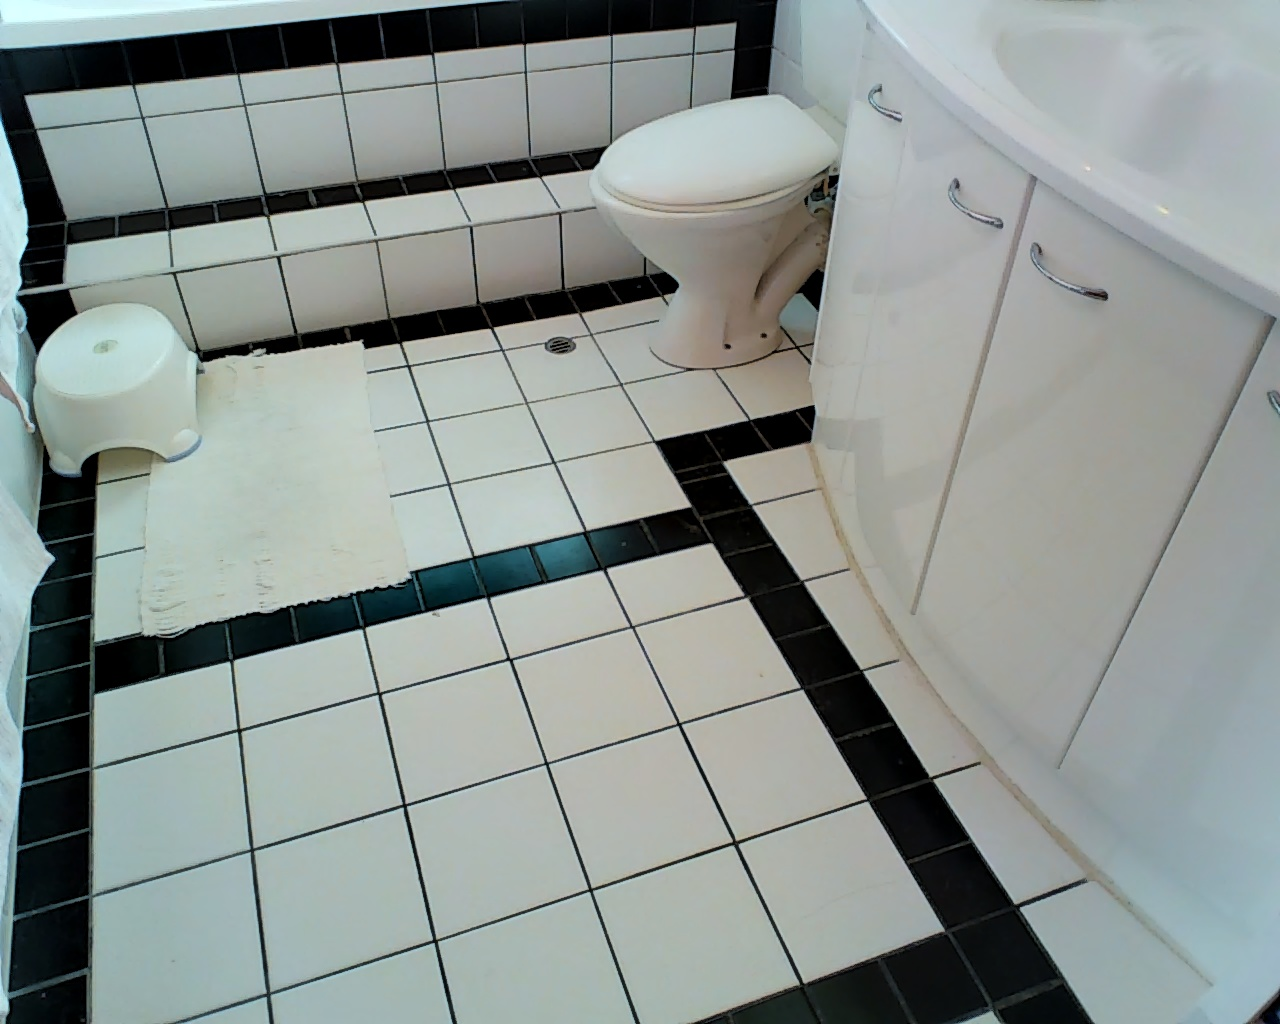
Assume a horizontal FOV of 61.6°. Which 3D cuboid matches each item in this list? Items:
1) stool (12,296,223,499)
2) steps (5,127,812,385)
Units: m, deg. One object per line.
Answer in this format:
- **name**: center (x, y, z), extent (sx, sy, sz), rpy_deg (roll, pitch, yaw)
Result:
- **stool**: center (-0.990, -0.230, 2.050), extent (0.310, 0.160, 0.360), rpy_deg (-13, 44, -16)
- **steps**: center (-0.450, -0.610, 2.430), extent (1.700, 0.230, 0.280), rpy_deg (-13, 44, -16)
